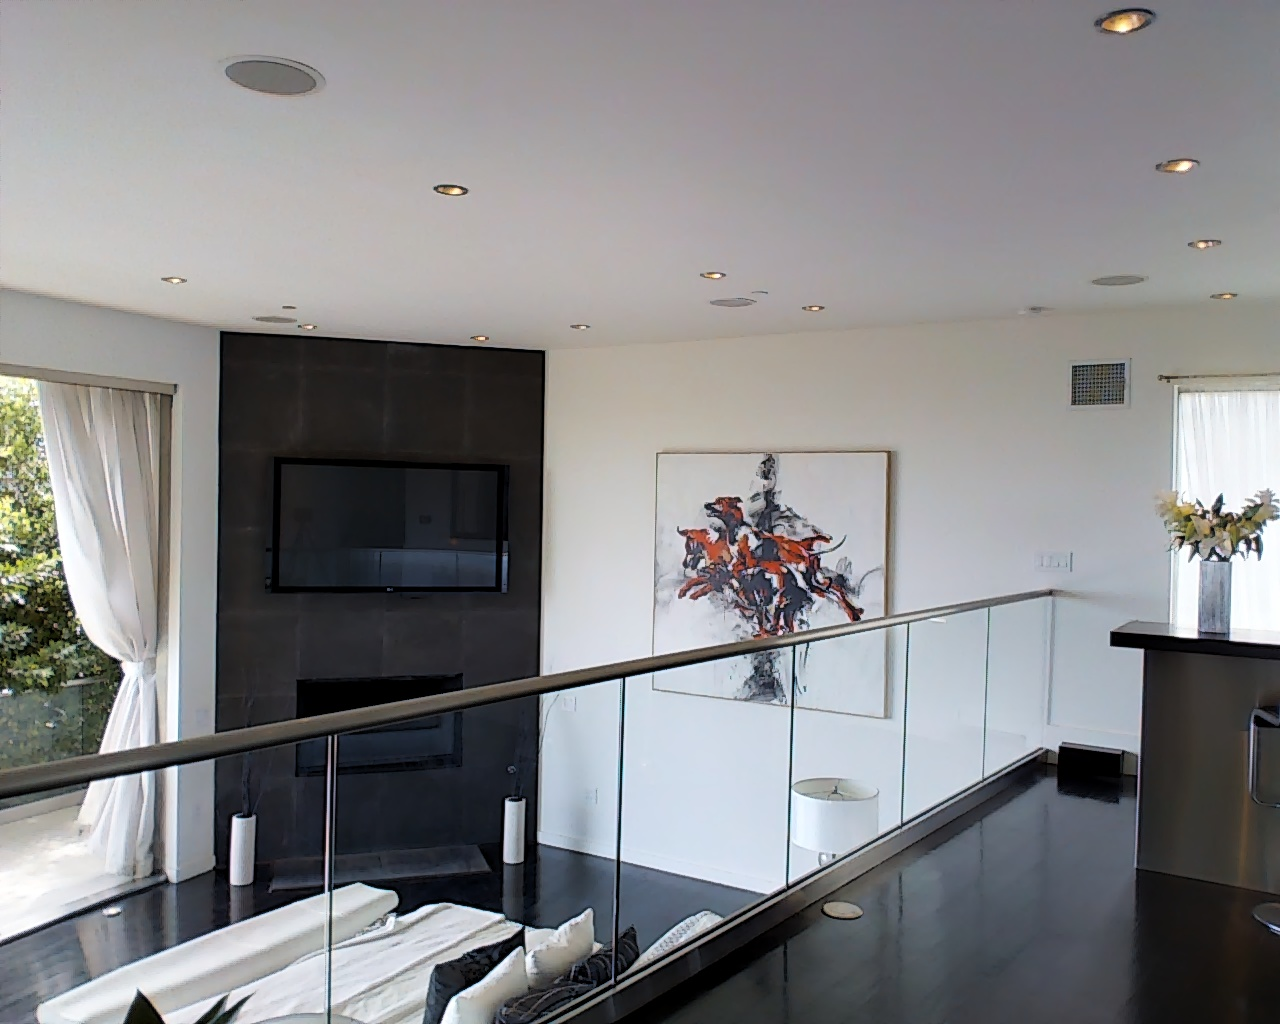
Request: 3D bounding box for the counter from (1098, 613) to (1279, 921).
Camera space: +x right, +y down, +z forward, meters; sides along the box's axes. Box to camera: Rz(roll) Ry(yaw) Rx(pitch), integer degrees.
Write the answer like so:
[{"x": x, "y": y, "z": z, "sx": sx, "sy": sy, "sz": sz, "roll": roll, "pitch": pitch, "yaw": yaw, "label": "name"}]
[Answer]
[{"x": 2.970, "y": 1.050, "z": 4.270, "sx": 2.010, "sy": 1.110, "sz": 0.640, "roll": 1, "pitch": 1, "yaw": 34, "label": "counter"}]
